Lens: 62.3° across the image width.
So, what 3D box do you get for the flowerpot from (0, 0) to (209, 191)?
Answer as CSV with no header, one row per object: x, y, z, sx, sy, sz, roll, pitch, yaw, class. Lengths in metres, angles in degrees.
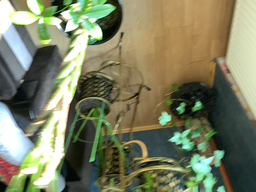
-0.190,-0.200,0.710,0.380,1.150,0.410,24,128,-25,flowerpot
